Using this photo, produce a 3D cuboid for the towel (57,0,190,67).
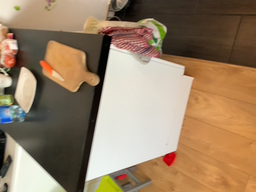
[{"bbox_3d":[-0.010,-0.370,1.240,0.480,0.580,0.220,23,102,39],"label":"towel"}]
